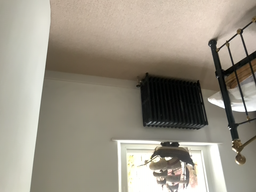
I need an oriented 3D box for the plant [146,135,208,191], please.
[{"bbox_3d":[0.520,0.780,2.390,0.420,0.570,0.490,5,157,-19],"label":"plant"}]
